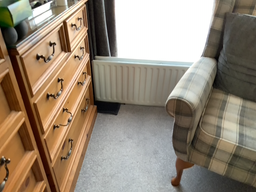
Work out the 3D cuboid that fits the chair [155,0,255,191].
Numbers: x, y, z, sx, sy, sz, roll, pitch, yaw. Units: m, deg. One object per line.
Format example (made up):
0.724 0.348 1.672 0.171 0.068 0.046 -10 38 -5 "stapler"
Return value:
0.730 -0.030 1.210 0.780 0.990 0.920 17 37 22 "chair"
